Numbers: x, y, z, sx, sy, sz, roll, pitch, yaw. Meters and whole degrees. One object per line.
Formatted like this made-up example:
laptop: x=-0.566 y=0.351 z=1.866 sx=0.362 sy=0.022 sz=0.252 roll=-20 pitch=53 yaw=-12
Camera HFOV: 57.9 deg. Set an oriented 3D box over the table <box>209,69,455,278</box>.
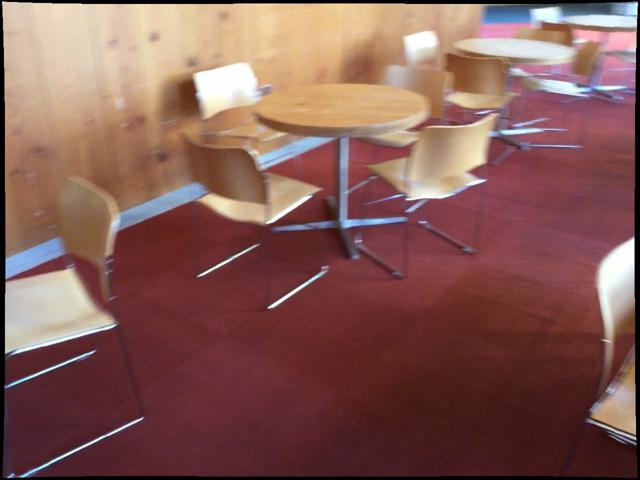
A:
table: x=0.070 y=-0.430 z=3.160 sx=0.949 sy=0.711 sz=0.860 roll=20 pitch=34 yaw=30
